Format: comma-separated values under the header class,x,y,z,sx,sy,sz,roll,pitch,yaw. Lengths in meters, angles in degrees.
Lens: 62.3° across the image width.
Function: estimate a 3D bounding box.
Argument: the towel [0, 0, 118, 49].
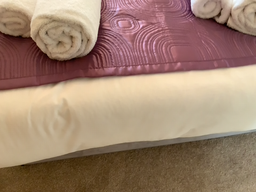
class,x,y,z,sx,sy,sz,roll,pitch,yaw
towel,-0.180,-0.310,0.530,0.260,0.100,0.420,-3,59,-9
